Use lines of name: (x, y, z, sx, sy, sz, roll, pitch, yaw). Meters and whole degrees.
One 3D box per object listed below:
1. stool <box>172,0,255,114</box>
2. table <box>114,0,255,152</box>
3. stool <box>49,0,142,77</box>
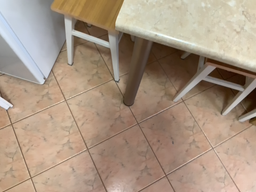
stool: (0.470, -0.170, 1.070, 0.310, 0.470, 0.330, 18, 71, 2)
table: (0.520, -0.170, 0.940, 1.020, 0.740, 0.590, 17, 71, 2)
stool: (-0.130, -0.380, 1.100, 0.310, 0.470, 0.320, 18, 71, 2)
